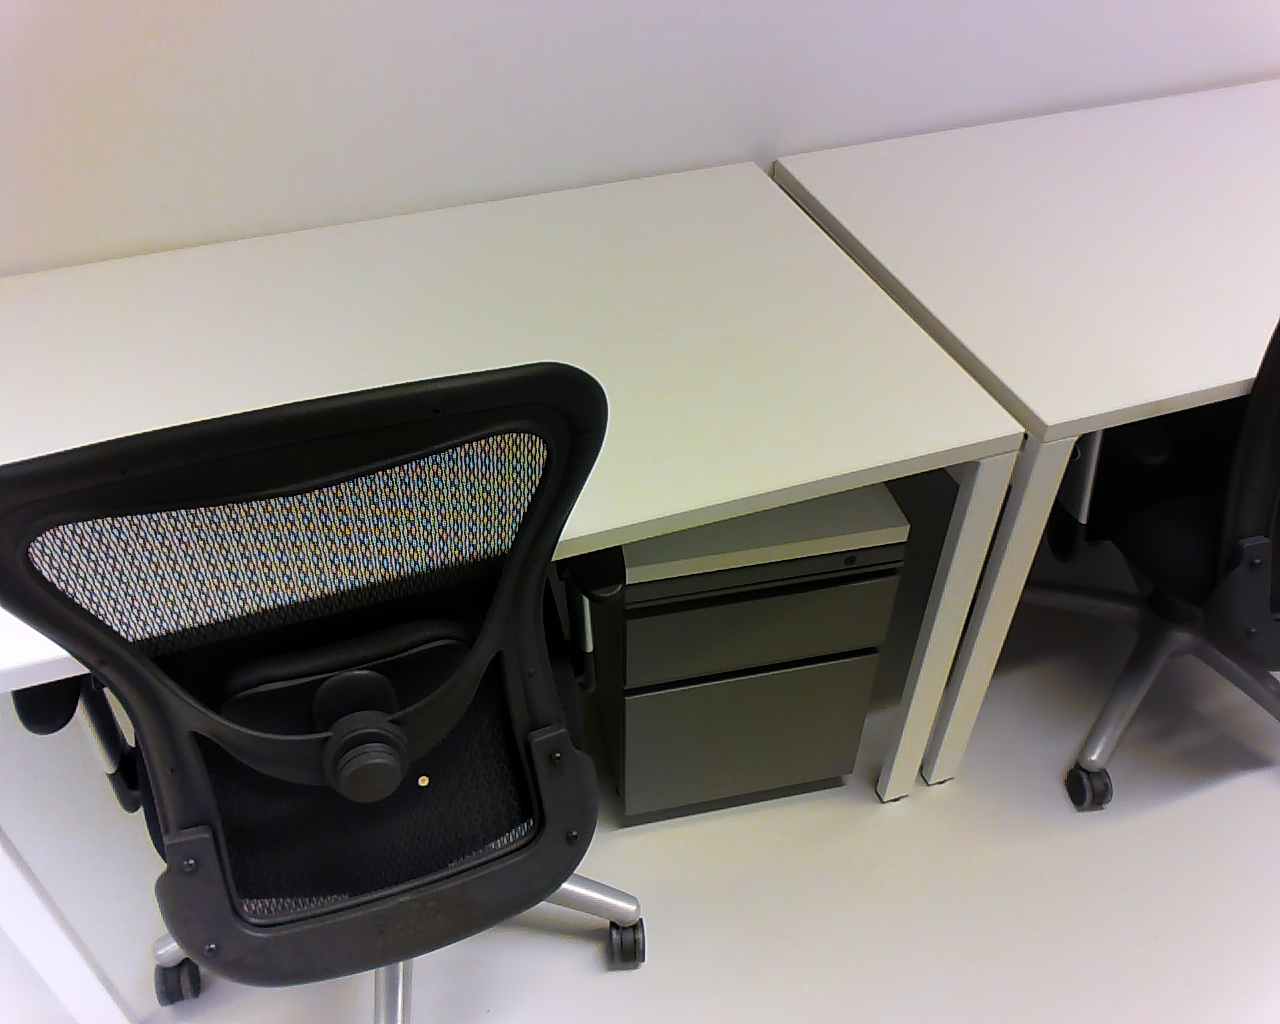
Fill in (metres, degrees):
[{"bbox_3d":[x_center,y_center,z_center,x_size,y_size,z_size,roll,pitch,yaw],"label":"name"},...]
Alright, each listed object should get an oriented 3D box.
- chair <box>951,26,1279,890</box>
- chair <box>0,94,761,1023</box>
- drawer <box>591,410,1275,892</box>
[{"bbox_3d":[0.980,-0.080,1.540,0.620,1.010,0.610,-14,44,-15],"label":"chair"},{"bbox_3d":[-0.300,0.190,1.230,0.580,1.030,0.650,-13,44,-15],"label":"chair"},{"bbox_3d":[0.390,0.210,1.540,0.910,0.590,0.110,-13,43,-14],"label":"drawer"}]
